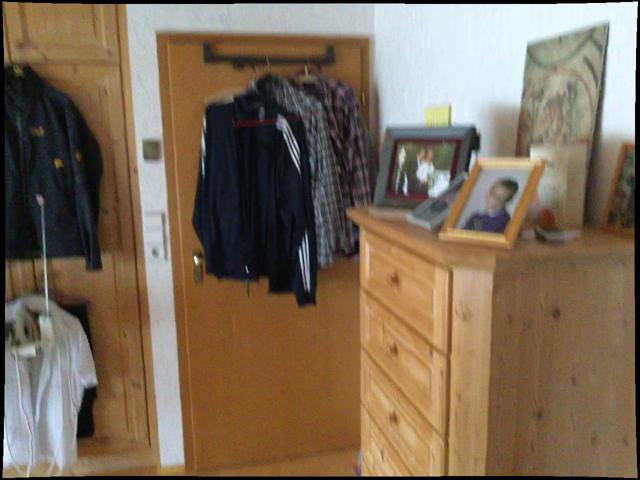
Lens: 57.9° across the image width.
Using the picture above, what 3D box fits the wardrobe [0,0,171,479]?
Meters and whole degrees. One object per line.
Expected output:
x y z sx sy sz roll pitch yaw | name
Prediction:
-2.098 -0.050 2.350 2.707 2.472 0.220 -4 12 -12 | wardrobe

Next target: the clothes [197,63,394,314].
-0.100 -0.240 2.590 0.809 1.031 0.270 -4 12 -12 | clothes

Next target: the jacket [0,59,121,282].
-1.229 -0.290 2.450 0.629 0.891 0.220 -4 12 -12 | jacket

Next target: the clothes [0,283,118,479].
-1.259 0.661 2.590 0.569 0.861 0.210 -4 12 -12 | clothes
